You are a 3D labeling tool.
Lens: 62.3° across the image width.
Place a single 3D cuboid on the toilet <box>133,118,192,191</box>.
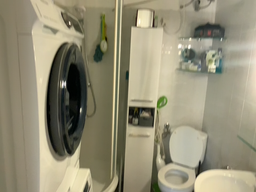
[{"bbox_3d":[0.380,0.730,2.240,0.420,0.800,0.650,8,13,23],"label":"toilet"}]
